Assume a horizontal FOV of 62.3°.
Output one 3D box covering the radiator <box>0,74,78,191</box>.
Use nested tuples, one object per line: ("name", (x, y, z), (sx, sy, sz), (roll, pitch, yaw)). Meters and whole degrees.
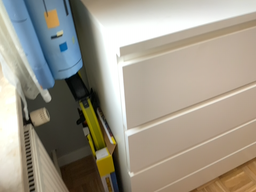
("radiator", (-0.270, 0.420, 0.770), (0.150, 0.730, 0.690), (-19, 45, -17))
